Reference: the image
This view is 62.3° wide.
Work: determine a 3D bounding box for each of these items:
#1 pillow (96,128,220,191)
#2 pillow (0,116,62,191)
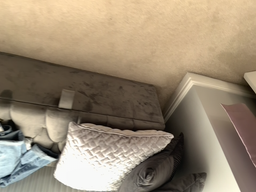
[{"bbox_3d":[0.100,0.490,1.050,0.420,0.390,0.510,9,133,-16],"label":"pillow"},{"bbox_3d":[-0.610,0.300,1.000,0.480,0.160,0.450,13,131,-20],"label":"pillow"}]
